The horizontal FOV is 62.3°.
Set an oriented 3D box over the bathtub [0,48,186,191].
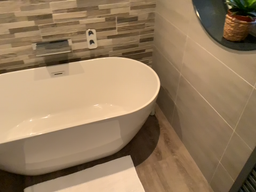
[{"bbox_3d":[-0.490,0.160,1.700,1.580,0.560,0.800,-12,42,-13],"label":"bathtub"}]
